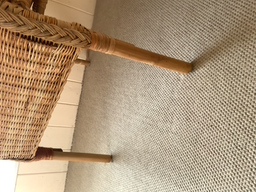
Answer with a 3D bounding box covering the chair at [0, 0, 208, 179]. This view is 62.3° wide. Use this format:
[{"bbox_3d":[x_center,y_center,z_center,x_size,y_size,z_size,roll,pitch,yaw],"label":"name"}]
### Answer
[{"bbox_3d":[-0.350,-0.160,0.680,0.620,0.760,0.590,-55,40,34],"label":"chair"}]
